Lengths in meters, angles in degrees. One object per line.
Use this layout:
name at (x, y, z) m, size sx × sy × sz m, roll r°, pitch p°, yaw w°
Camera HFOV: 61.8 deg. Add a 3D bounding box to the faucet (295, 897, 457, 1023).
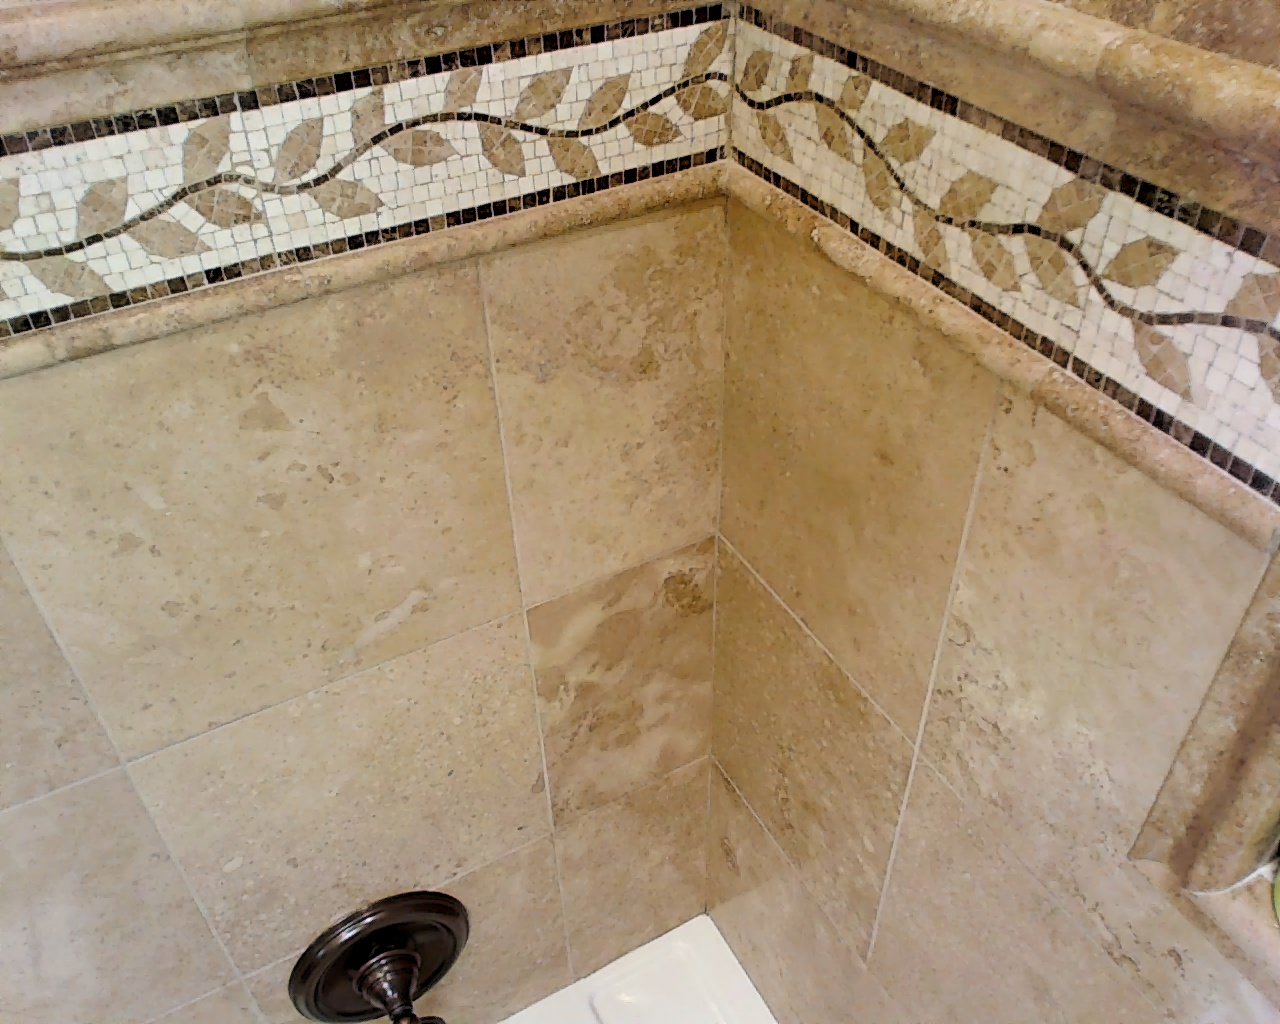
faucet at (-0.240, 0.460, 1.000) m, size 0.110 × 0.160 × 0.080 m, roll -19°, pitch 43°, yaw -21°
